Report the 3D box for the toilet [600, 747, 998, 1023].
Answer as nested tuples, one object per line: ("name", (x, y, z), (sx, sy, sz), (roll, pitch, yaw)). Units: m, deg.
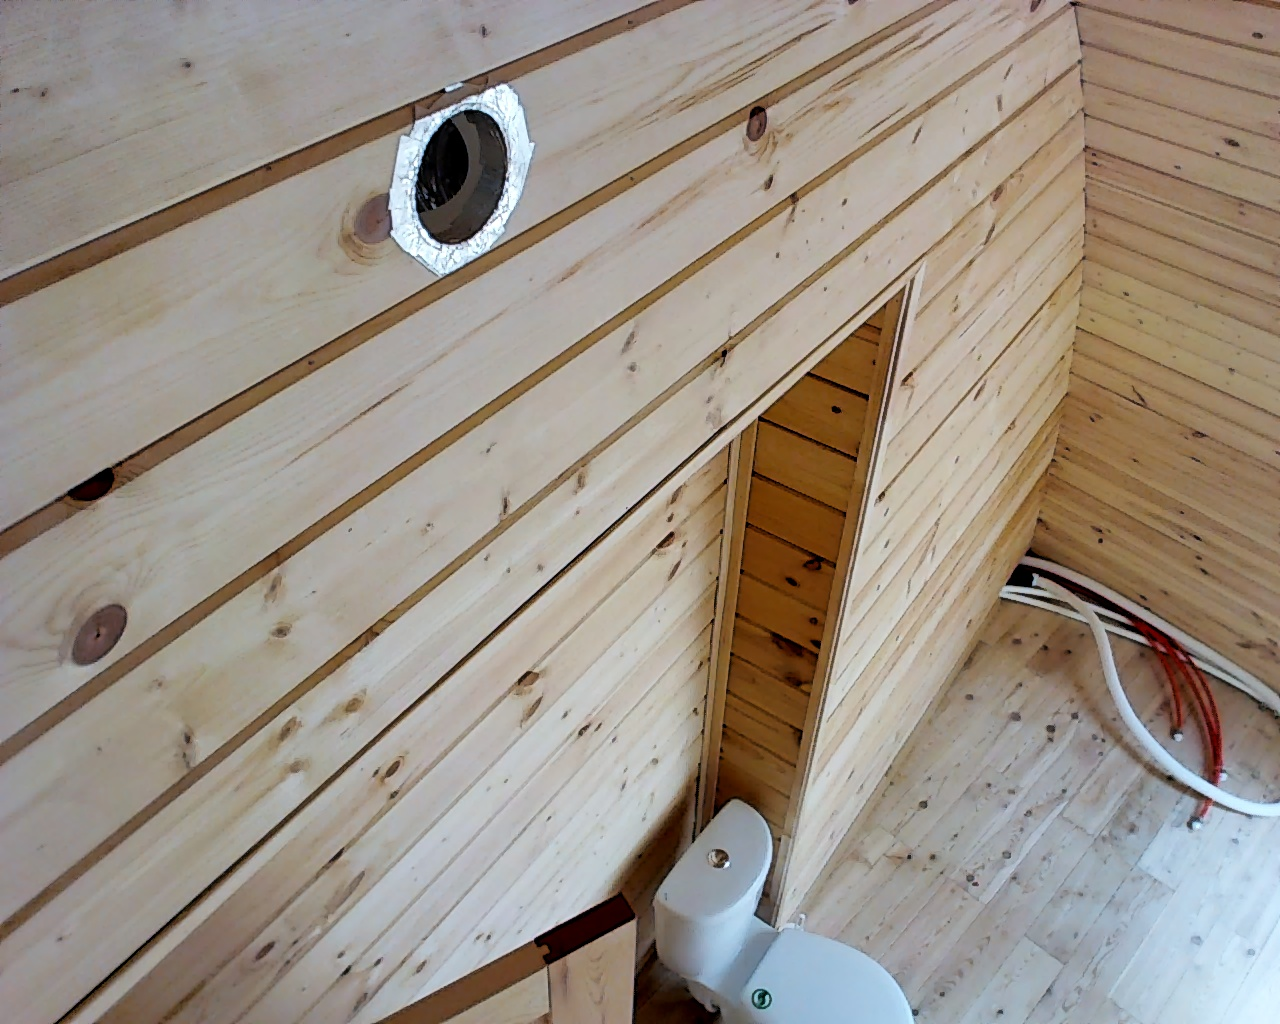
("toilet", (0.360, 1.200, 2.780), (0.800, 0.800, 0.470), (25, 46, 24))
